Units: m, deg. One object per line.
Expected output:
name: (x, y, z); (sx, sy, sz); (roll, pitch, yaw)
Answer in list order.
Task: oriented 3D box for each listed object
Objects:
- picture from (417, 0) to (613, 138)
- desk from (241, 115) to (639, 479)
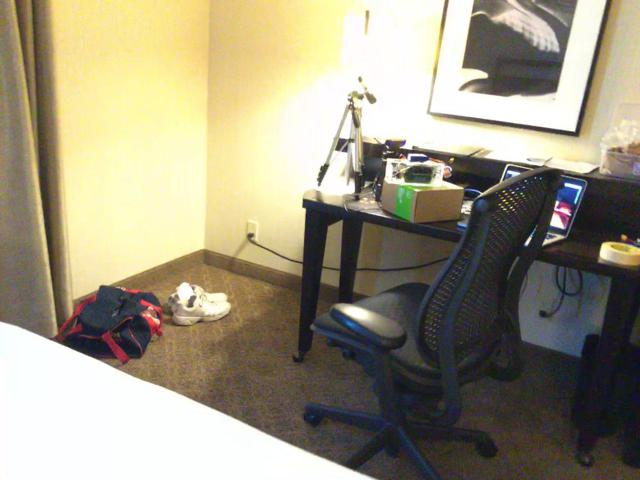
picture: (0.780, -0.910, 2.330); (0.700, 0.890, 0.070); (15, 22, 28)
desk: (0.510, 0.090, 2.410); (1.580, 0.970, 0.670); (15, 22, 28)
